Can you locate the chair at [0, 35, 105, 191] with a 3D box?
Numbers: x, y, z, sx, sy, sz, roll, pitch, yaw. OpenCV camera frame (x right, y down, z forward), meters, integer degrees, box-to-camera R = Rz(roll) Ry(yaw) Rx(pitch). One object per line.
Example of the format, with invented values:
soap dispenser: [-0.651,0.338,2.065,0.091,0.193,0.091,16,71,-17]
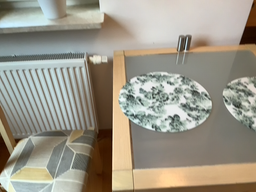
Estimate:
chair: [-0.440,0.260,1.010,0.520,0.930,0.510,1,40,3]
